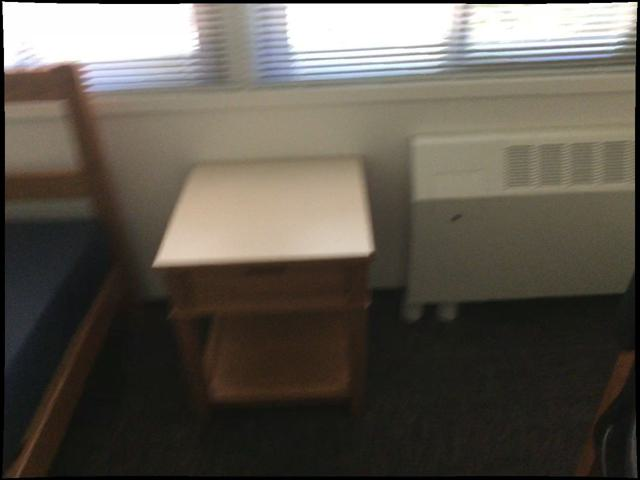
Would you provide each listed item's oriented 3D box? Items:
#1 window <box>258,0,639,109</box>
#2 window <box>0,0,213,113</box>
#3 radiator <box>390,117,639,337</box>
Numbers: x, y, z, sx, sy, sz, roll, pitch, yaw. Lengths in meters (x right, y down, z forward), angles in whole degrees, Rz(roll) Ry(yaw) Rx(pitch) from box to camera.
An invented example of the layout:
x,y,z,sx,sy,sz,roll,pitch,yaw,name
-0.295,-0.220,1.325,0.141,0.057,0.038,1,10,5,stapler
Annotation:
x,y,z,sx,sy,sz,roll,pitch,yaw,name
0.409,-0.622,1.610,1.127,0.361,0.190,-5,35,1,window
-0.698,-0.592,1.660,0.698,0.341,0.220,-5,35,1,window
0.718,-0.030,1.840,0.958,0.641,0.200,-5,35,1,radiator
